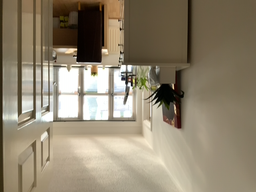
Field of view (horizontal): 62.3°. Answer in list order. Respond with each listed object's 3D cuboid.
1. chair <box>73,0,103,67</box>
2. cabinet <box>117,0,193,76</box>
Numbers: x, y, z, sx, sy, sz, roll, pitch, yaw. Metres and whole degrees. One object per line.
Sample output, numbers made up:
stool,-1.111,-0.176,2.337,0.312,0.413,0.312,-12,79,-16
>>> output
chair,-0.660,-1.050,3.650,0.420,1.000,0.660,0,-179,-3
cabinet,0.170,-0.870,1.980,0.520,1.280,0.970,0,-179,-4
